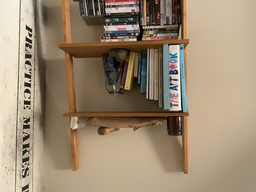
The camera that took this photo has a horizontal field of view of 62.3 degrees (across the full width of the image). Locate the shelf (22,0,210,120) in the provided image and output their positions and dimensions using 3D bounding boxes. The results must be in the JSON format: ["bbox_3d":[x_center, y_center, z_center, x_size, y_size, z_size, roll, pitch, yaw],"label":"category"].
[{"bbox_3d":[-0.040,-0.650,1.050,0.680,1.510,0.470,-1,176,5],"label":"shelf"}]
